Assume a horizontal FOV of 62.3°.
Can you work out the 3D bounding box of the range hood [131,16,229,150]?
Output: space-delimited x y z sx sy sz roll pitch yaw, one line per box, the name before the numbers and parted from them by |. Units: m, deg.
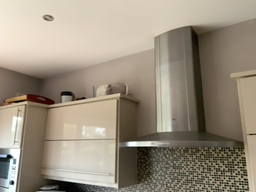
range hood | 0.400 -0.060 1.830 0.730 1.000 0.260 -9 -16 34
